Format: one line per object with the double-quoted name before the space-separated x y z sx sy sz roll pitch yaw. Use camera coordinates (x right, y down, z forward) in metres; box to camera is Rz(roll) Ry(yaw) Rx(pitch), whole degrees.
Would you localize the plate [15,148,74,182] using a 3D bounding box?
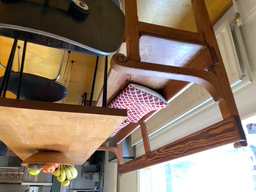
"plate" -0.550 0.480 1.430 0.310 0.180 0.340 7 155 -17
